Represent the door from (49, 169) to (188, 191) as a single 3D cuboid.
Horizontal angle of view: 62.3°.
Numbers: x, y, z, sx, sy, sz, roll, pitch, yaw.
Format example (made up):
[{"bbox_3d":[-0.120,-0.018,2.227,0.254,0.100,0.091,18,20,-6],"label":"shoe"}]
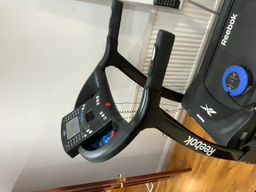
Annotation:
[{"bbox_3d":[-0.340,1.040,2.370,0.770,1.910,0.040,123,141,-56],"label":"door"}]
